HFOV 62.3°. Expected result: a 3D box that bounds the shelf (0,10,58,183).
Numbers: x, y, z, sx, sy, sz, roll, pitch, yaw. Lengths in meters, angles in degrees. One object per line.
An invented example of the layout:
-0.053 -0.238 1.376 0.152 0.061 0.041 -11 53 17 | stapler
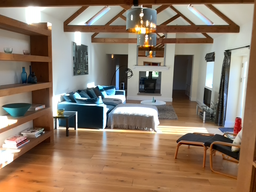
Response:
-1.830 -0.060 3.410 0.430 2.280 2.090 2 9 7 | shelf
